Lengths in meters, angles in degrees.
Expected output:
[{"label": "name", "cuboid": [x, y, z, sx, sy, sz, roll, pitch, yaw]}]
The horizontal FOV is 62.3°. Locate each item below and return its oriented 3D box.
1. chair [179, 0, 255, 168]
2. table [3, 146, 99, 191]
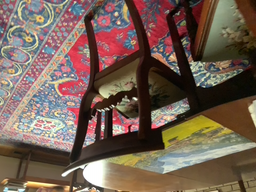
[{"label": "chair", "cuboid": [0.510, -0.280, 0.760, 0.480, 0.880, 0.530, -7, 147, 7]}, {"label": "table", "cuboid": [-1.130, 1.180, 3.290, 1.260, 0.460, 0.490, 20, 140, -31]}]
